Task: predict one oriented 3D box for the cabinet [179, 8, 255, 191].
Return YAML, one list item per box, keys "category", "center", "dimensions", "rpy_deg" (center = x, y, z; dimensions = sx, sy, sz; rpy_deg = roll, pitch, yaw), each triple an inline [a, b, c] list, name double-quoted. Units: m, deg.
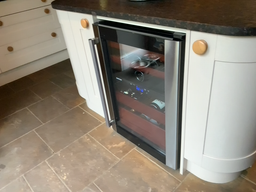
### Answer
- category: "cabinet"
  center: [0.450, 0.090, 1.000]
  dimensions: [0.220, 0.890, 0.300]
  rpy_deg: [-31, 41, -32]
